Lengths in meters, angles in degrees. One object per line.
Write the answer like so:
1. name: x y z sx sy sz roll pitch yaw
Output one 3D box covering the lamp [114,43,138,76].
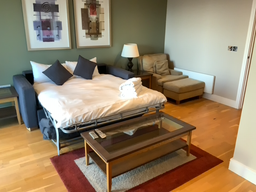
1. lamp: -0.050 -0.830 4.800 0.360 0.660 0.420 -12 22 -32
